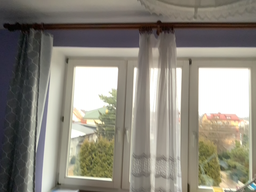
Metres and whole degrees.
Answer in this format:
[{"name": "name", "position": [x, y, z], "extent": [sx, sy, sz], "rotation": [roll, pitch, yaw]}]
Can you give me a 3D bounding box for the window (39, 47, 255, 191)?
[{"name": "window", "position": [0.250, 0.280, 2.230], "extent": [2.180, 1.490, 0.300], "rotation": [2, -6, 4]}]
